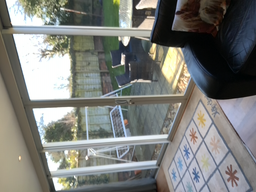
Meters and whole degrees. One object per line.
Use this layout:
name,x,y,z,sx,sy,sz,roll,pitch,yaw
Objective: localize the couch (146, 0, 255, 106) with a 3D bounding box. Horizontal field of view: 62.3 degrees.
couch,0.750,-0.600,1.700,0.960,0.860,0.910,-105,18,-46
